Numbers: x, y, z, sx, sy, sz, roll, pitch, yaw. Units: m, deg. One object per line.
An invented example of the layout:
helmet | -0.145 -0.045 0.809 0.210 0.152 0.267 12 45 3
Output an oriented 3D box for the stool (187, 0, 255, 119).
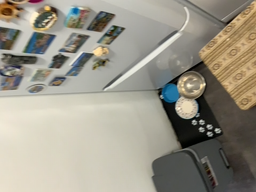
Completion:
stool | 0.570 -0.150 0.940 0.300 0.460 0.340 -44 65 33
